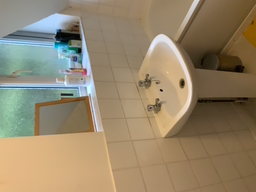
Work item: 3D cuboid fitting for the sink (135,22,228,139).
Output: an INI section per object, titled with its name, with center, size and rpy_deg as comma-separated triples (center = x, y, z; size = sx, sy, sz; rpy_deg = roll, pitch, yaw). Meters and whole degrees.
[sink]
center = 0.270, -0.100, 1.320
size = 0.420, 0.180, 0.580
rpy_deg = 115, 147, -45

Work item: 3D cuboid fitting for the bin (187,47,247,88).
[bin]
center = 0.710, -0.220, 1.720
size = 0.240, 0.330, 0.200
rpy_deg = 117, 145, -47
